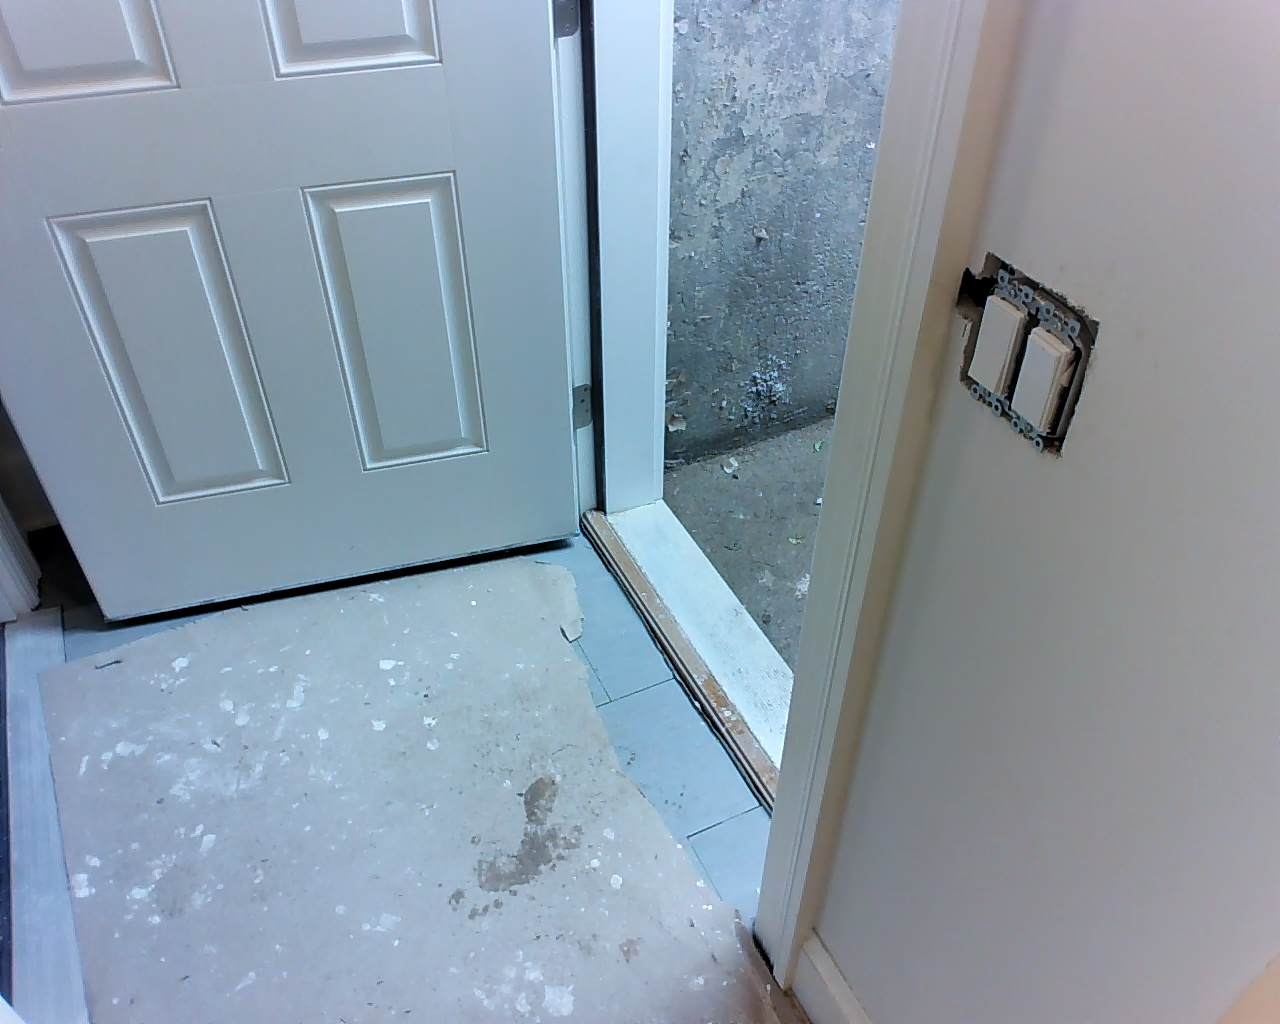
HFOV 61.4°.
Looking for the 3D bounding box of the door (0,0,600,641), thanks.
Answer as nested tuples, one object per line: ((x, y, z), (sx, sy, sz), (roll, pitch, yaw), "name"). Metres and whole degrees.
((-0.570, -0.640, 1.450), (1.010, 2.120, 0.060), (-10, 43, -11), "door")
